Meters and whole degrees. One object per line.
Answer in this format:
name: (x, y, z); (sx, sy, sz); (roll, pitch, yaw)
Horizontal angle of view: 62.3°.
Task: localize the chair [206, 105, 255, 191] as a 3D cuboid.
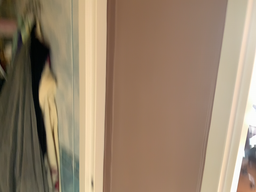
chair: (1.480, 0.630, 2.610); (0.660, 0.840, 0.620); (-6, 15, -33)
